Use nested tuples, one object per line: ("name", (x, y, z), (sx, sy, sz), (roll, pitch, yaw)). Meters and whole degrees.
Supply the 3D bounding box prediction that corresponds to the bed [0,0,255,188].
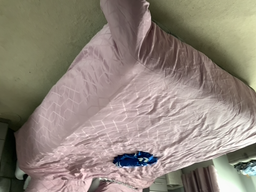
("bed", (-0.040, 0.370, 2.140), (1.700, 0.530, 2.270), (21, 139, -33))
